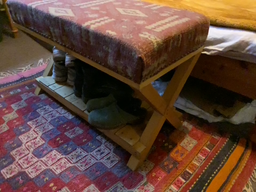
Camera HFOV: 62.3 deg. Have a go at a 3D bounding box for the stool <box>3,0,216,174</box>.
[{"bbox_3d":[-0.140,-0.170,1.020,0.840,0.530,0.410,30,44,32],"label":"stool"}]
